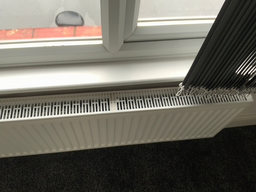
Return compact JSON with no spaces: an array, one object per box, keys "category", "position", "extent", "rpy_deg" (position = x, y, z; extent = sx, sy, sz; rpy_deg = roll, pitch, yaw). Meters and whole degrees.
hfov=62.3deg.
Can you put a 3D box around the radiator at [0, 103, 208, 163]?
[{"category":"radiator","position":[-0.430,0.190,0.920],"extent":[1.410,0.470,0.070],"rpy_deg":[-1,60,-6]}]
